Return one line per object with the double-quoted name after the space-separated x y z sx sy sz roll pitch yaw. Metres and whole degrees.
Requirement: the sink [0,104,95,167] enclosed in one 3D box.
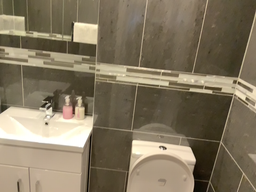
-0.550 0.220 1.310 0.610 0.140 0.390 7 18 1 "sink"
